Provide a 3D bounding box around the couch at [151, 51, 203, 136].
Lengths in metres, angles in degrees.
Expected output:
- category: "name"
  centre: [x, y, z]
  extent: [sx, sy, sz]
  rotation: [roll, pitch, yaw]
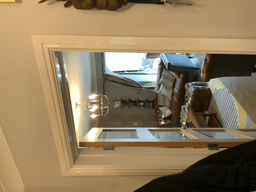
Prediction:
- category: "couch"
  centre: [1.100, -0.040, 5.170]
  extent: [0.900, 0.780, 1.840]
  rotation: [-94, 5, -59]
